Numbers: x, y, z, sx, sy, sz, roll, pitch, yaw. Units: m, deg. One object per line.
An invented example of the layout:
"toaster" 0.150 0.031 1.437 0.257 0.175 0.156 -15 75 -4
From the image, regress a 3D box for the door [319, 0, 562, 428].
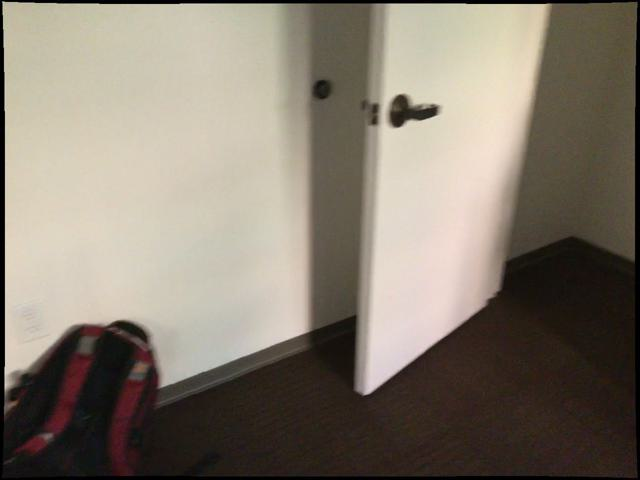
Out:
"door" 0.439 -0.441 1.870 0.220 1.824 1.089 19 33 36
